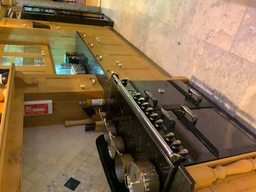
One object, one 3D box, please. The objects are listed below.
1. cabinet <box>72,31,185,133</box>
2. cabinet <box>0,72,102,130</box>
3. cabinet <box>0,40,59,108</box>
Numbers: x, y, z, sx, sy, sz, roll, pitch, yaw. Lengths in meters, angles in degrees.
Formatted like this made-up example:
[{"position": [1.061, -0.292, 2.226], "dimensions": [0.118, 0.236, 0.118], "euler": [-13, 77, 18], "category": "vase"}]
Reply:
[{"position": [-0.190, -0.380, 3.170], "dimensions": [2.060, 0.890, 0.580], "euler": [-127, 40, -51], "category": "cabinet"}, {"position": [-1.000, 0.030, 2.300], "dimensions": [0.390, 1.340, 0.450], "euler": [-127, 40, -51], "category": "cabinet"}, {"position": [-1.480, -0.380, 2.960], "dimensions": [1.420, 0.820, 0.350], "euler": [-127, 40, -51], "category": "cabinet"}]
